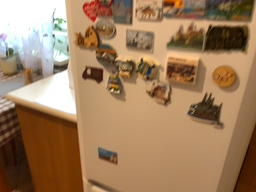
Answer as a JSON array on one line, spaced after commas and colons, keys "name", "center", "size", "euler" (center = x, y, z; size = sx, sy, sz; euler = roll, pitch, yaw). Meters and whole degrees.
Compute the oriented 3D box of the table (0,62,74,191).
[{"name": "table", "center": [-1.050, 0.240, 1.610], "size": [1.000, 0.780, 0.650], "euler": [15, 29, 25]}]
